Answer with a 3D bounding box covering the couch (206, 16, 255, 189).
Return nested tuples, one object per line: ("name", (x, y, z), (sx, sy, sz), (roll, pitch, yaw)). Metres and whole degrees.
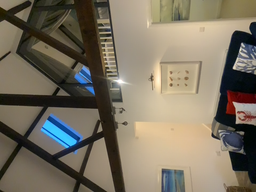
("couch", (1.800, 0.180, 3.010), (1.120, 0.830, 2.250), (-78, -14, -52))
